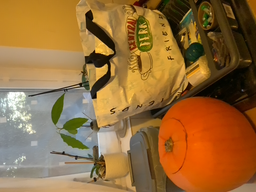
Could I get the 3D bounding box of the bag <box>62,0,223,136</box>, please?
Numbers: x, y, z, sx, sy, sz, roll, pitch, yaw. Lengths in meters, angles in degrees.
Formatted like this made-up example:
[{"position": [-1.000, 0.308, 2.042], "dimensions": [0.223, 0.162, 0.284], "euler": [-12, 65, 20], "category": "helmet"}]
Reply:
[{"position": [0.000, -0.120, 0.800], "dimensions": [0.360, 0.430, 0.440], "euler": [133, 132, -59], "category": "bag"}]
